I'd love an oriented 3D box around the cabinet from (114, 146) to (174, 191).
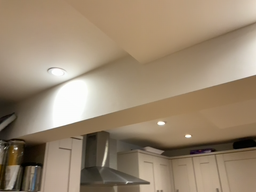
[{"bbox_3d":[0.230,1.100,2.620,0.340,0.790,0.850,-17,-28,31],"label":"cabinet"}]
